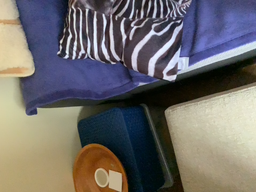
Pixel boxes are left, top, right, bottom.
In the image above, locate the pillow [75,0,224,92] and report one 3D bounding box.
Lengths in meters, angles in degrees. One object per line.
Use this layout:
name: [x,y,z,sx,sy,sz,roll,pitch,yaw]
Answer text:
pillow: [-0.010,-0.270,0.660,0.250,0.460,0.370,-13,80,-13]
